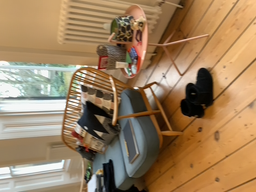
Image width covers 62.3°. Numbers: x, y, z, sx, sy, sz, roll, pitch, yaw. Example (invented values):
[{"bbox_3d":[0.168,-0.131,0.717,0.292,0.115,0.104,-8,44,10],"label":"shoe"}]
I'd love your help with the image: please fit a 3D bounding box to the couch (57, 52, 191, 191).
[{"bbox_3d":[-0.270,0.520,2.350,1.700,0.750,1.000,119,142,-47],"label":"couch"}]
